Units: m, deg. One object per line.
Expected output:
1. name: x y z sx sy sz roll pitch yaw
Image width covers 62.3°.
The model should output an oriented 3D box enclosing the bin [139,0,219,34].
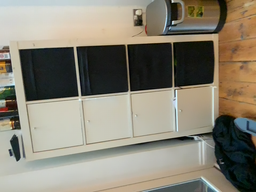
1. bin: 0.380 -0.650 1.700 0.470 0.450 0.240 -144 50 -71
